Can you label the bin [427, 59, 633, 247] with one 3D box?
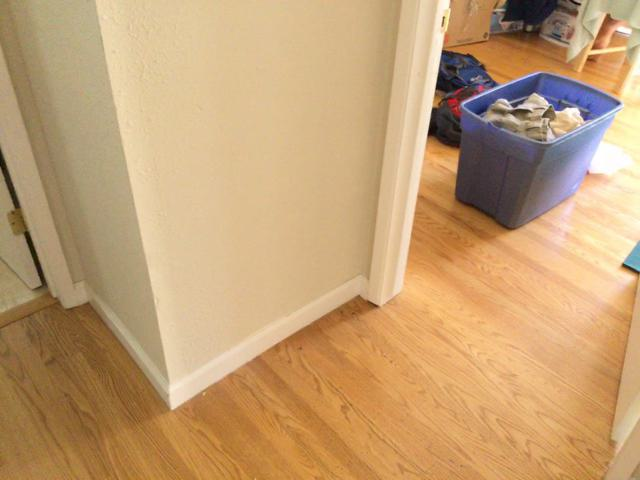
[{"bbox_3d":[0.820,-0.370,2.310,0.550,0.440,0.470,-30,50,-34],"label":"bin"}]
